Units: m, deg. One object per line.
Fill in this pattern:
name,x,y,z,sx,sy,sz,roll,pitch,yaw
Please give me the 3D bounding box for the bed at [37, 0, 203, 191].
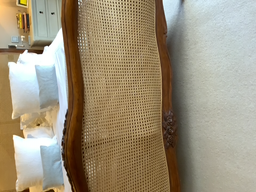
bed,-0.420,0.230,2.300,2.450,0.690,2.080,-1,92,61
